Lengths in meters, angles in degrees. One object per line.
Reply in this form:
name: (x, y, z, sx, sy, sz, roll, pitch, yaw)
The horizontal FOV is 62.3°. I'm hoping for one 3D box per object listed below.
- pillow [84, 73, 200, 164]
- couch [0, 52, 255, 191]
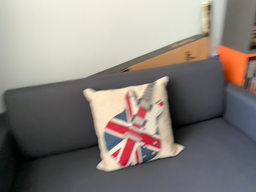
pillow: (0.050, 0.120, 0.990, 0.420, 0.330, 0.180, 10, 23, -22)
couch: (0.100, 0.310, 1.000, 1.420, 0.680, 0.750, -10, 29, -13)
